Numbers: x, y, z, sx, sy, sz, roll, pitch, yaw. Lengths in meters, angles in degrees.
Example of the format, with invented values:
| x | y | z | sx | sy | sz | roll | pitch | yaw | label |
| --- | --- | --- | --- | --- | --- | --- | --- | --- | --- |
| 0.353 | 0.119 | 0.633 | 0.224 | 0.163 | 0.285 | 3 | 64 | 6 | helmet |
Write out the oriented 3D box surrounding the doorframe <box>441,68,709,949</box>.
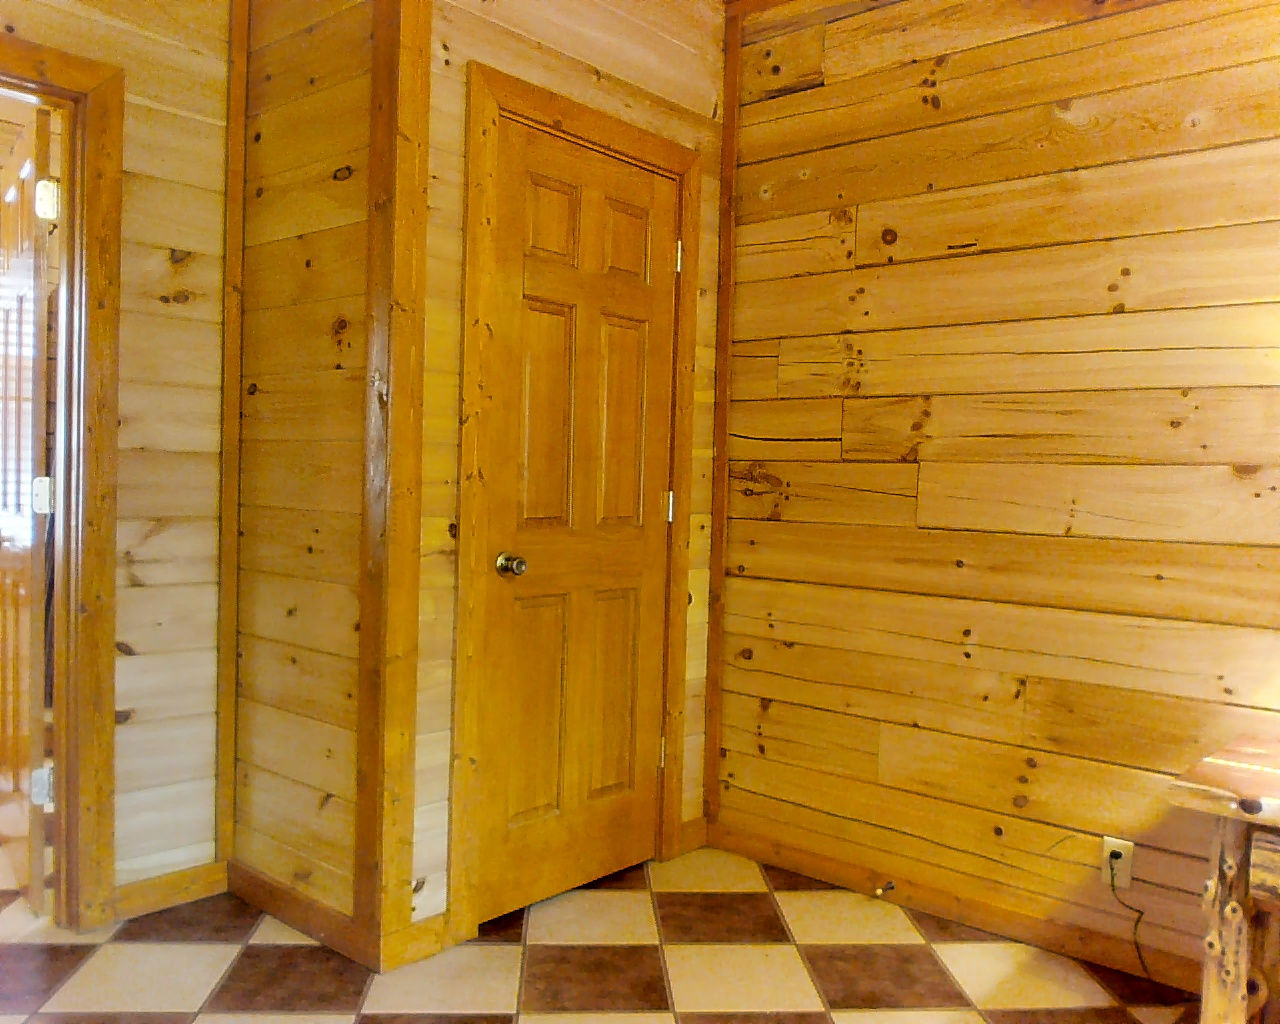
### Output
| x | y | z | sx | sy | sz | roll | pitch | yaw | label |
| --- | --- | --- | --- | --- | --- | --- | --- | --- | --- |
| -0.140 | 0.000 | 2.950 | 0.040 | 2.111 | 0.950 | 3 | 3 | 41 | doorframe |
